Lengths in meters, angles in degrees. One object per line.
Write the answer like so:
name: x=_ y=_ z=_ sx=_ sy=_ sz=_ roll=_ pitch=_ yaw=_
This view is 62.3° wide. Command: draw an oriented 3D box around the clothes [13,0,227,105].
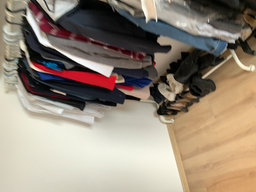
clothes: x=-0.040 y=-0.360 z=1.450 sx=0.490 sy=1.250 sz=0.610 roll=-46 pitch=46 yaw=49

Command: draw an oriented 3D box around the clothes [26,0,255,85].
clothes: x=0.240 y=-0.600 z=1.000 sx=0.700 sy=1.210 sz=0.700 roll=-47 pitch=46 yaw=48
